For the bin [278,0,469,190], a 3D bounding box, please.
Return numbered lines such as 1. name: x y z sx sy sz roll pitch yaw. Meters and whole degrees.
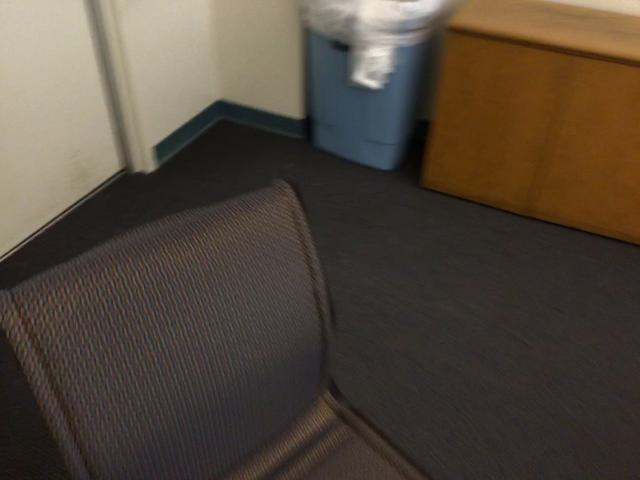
1. bin: 0.230 -0.770 2.550 0.640 0.800 0.550 17 39 16
